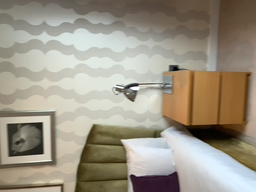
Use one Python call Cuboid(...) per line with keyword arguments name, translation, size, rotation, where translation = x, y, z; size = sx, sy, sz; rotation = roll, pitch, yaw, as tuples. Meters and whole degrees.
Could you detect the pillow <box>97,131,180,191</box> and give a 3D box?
Cuboid(name="pillow", translation=(0.120, 0.760, 1.850), size=(0.710, 0.490, 0.270), rotation=(67, 164, -11))
